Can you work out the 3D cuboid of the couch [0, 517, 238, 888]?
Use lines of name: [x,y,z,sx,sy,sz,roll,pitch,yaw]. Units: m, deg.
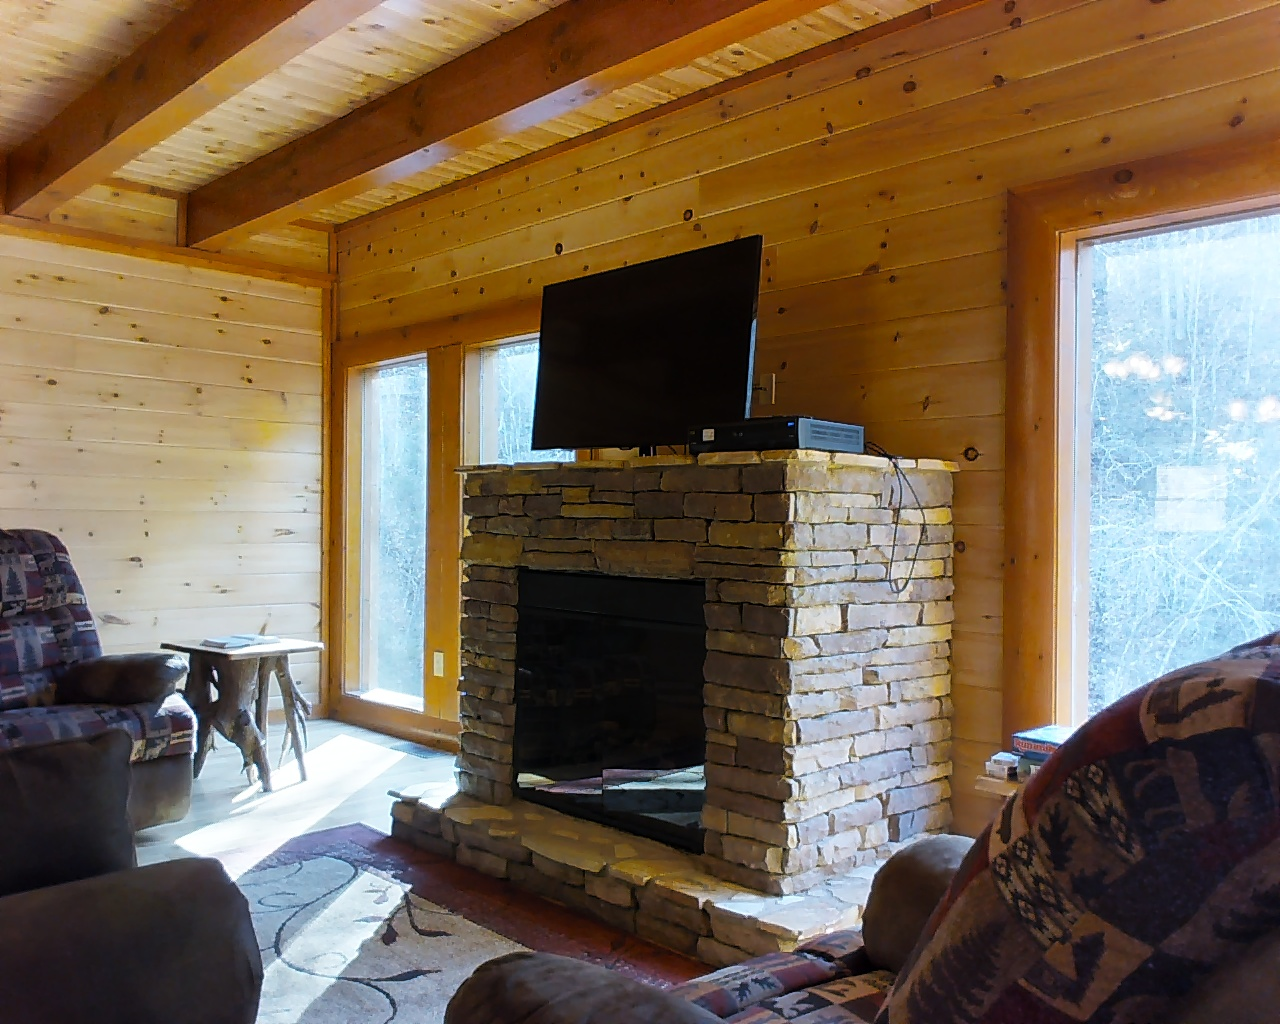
couch: [-2.329,0.590,3.940,1.250,1.140,1.070,0,0,32]
